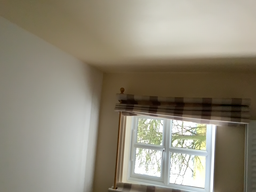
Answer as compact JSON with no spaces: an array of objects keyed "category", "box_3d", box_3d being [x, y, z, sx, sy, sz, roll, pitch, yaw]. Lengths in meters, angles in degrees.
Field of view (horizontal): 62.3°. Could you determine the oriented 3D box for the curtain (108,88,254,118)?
[{"category":"curtain","box_3d":[0.510,0.070,2.280,0.180,1.460,0.230,29,-115,-72]}]
